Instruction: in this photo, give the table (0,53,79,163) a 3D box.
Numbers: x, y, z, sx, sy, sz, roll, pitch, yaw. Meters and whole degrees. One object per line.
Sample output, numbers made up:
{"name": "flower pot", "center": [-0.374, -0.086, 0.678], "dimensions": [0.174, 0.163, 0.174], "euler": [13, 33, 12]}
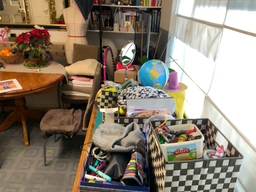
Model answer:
{"name": "table", "center": [-1.300, 0.040, 2.590], "dimensions": [1.100, 0.780, 1.330], "euler": [1, 25, -3]}
